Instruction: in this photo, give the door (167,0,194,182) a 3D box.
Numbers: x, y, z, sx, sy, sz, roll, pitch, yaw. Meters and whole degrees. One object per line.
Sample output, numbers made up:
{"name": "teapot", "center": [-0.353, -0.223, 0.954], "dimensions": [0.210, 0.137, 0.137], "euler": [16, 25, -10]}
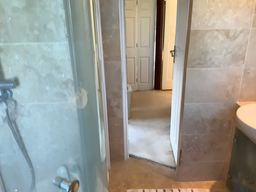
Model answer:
{"name": "door", "center": [0.530, -0.110, 2.310], "dimensions": [0.040, 1.890, 0.830], "euler": [0, 21, 4]}
